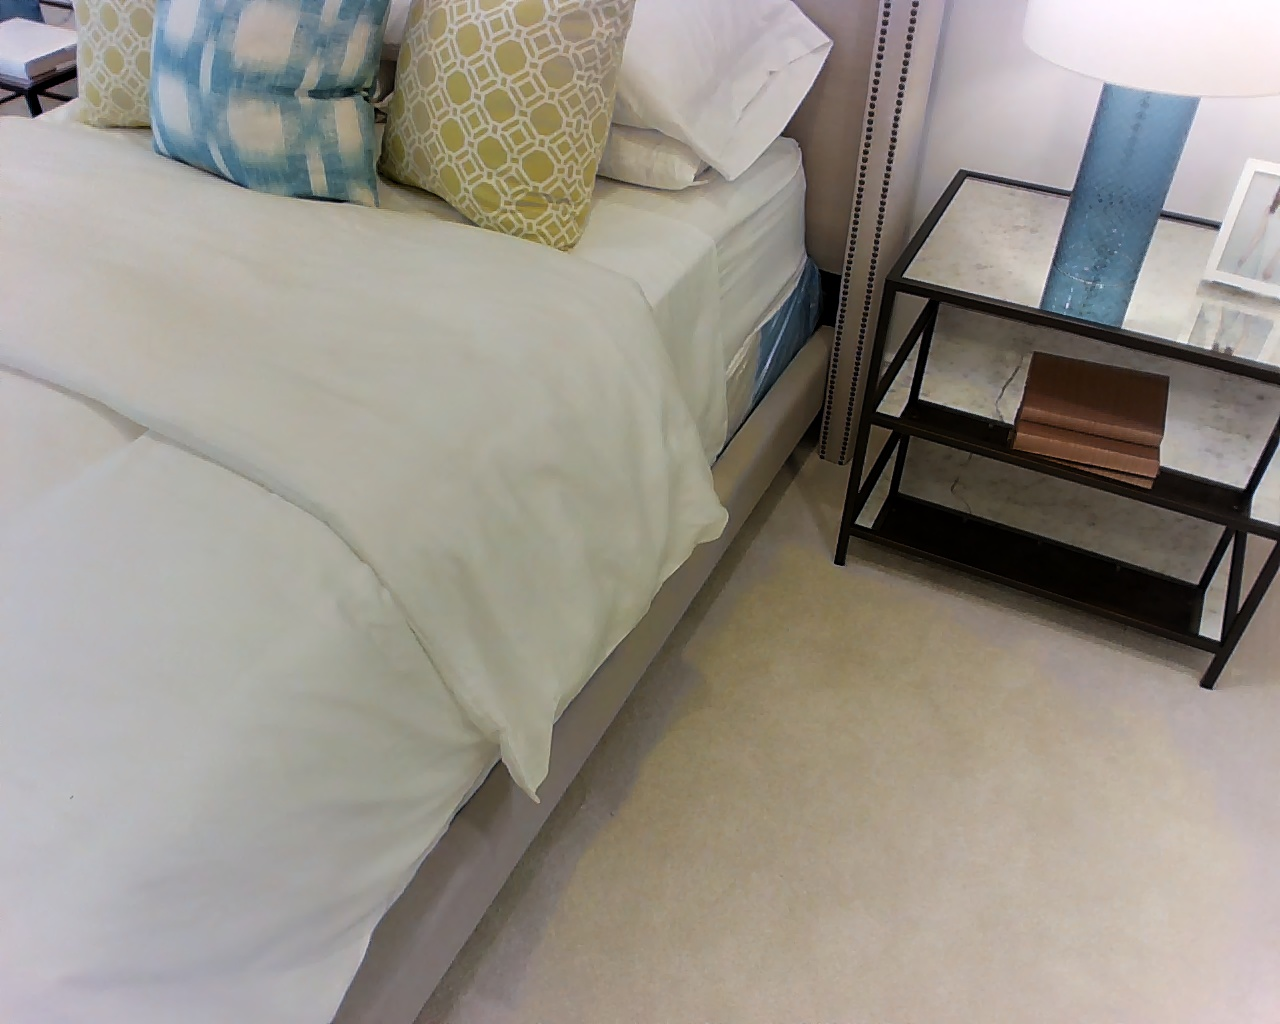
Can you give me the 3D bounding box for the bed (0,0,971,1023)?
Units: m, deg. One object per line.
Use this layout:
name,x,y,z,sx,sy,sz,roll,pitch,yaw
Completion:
bed,-0.800,-0.170,1.970,2.010,0.910,2.280,20,46,21
